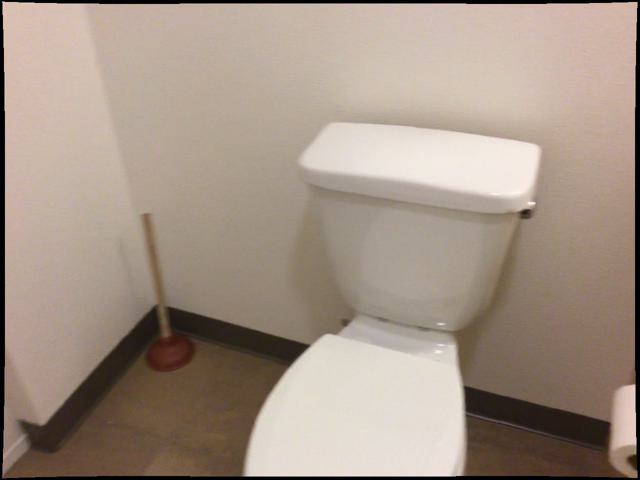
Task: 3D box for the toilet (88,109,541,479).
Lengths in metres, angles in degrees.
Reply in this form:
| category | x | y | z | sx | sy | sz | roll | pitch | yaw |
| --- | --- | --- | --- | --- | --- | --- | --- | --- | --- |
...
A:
| category | x | y | z | sx | sy | sz | roll | pitch | yaw |
| --- | --- | --- | --- | --- | --- | --- | --- | --- | --- |
| toilet | 0.090 | 0.180 | 1.050 | 0.439 | 0.531 | 0.760 | 11 | 38 | 21 |

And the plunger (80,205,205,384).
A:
| category | x | y | z | sx | sy | sz | roll | pitch | yaw |
| --- | --- | --- | --- | --- | --- | --- | --- | --- | --- |
| plunger | -0.509 | 0.170 | 1.710 | 0.170 | 0.511 | 0.170 | 11 | 38 | 21 |
